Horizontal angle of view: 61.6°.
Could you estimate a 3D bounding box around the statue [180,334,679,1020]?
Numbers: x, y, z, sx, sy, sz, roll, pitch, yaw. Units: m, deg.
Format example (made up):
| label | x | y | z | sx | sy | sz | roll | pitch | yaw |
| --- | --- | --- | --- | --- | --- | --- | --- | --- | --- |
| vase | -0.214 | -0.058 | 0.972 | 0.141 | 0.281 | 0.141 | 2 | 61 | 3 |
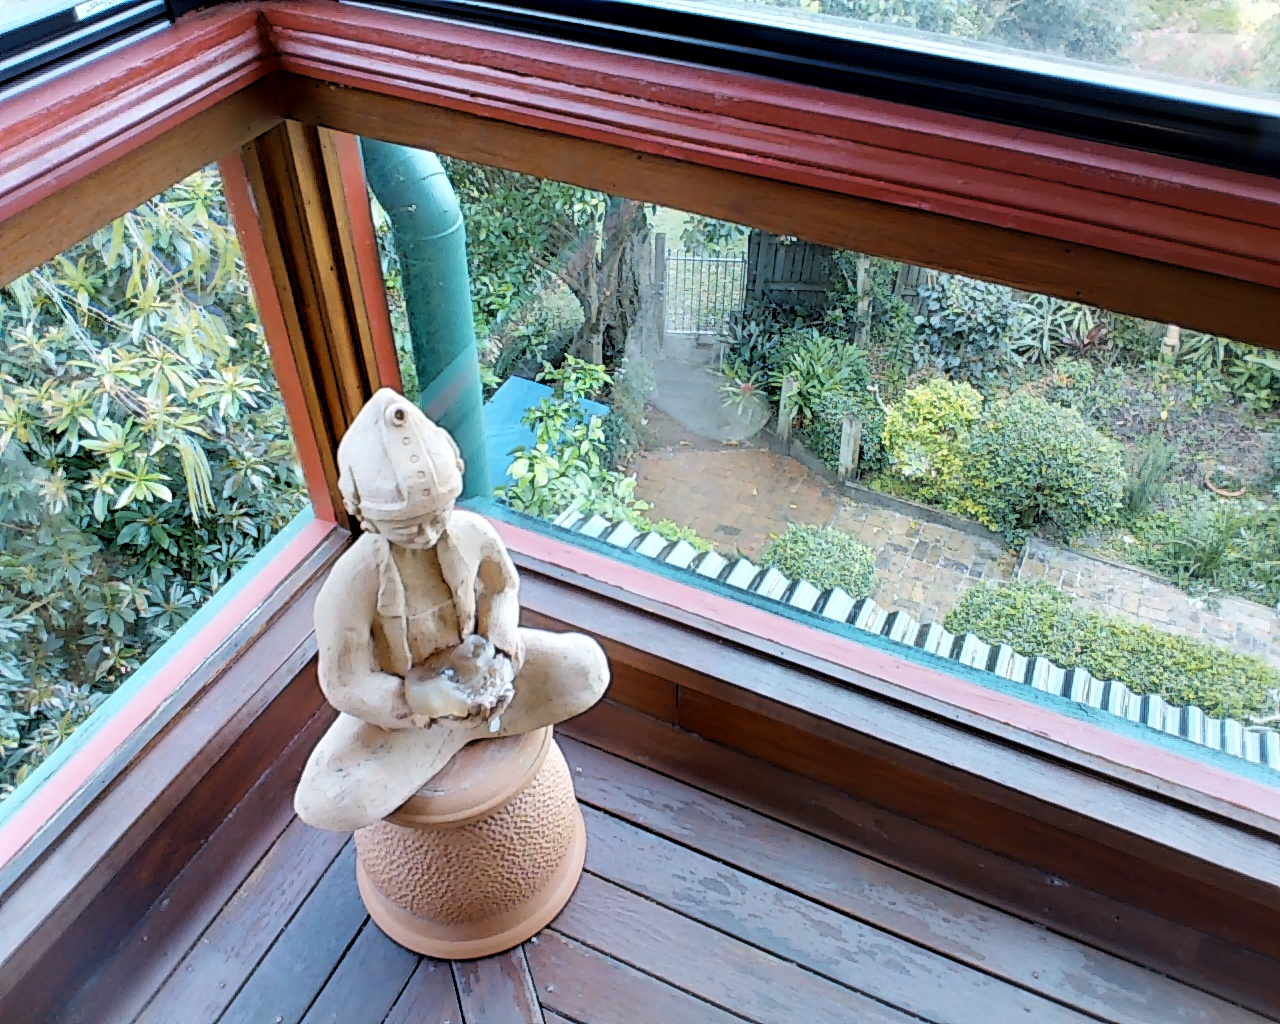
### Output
| label | x | y | z | sx | sy | sz | roll | pitch | yaw |
| --- | --- | --- | --- | --- | --- | --- | --- | --- | --- |
| statue | -0.190 | 0.210 | 1.140 | 0.370 | 0.710 | 0.250 | -13 | 45 | -15 |
